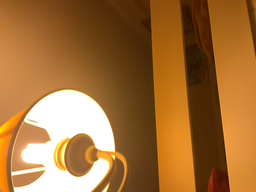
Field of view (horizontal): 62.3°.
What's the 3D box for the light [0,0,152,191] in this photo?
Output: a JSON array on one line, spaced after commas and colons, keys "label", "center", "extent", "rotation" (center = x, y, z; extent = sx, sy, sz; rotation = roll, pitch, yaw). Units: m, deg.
[{"label": "light", "center": [-0.220, 0.080, 0.590], "extent": [0.390, 0.310, 0.560], "rotation": [14, 98, 24]}]
